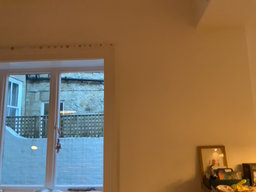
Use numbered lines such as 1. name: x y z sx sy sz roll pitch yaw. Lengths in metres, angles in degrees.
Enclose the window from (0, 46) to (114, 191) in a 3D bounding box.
1. window: -1.260 0.330 2.380 2.150 1.570 0.560 -1 -8 4
